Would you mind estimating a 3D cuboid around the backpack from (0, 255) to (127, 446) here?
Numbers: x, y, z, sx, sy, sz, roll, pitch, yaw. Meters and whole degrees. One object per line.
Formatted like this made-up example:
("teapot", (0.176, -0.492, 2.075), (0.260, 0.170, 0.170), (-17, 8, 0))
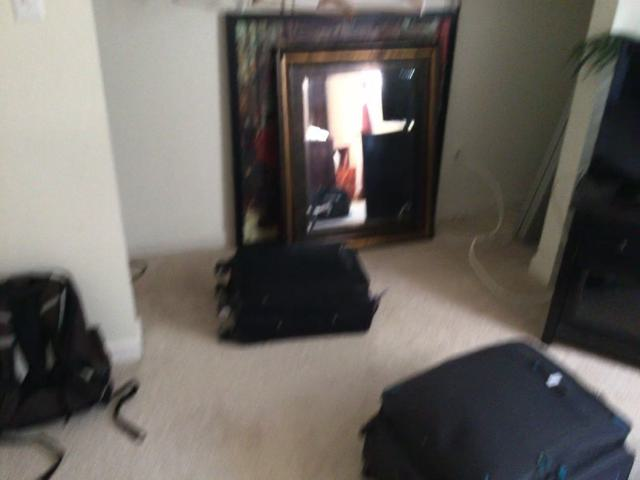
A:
("backpack", (-0.860, 0.340, 1.850), (0.380, 0.440, 0.310), (-10, 23, -14))
